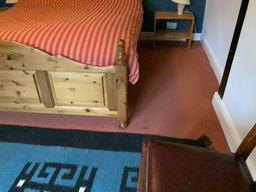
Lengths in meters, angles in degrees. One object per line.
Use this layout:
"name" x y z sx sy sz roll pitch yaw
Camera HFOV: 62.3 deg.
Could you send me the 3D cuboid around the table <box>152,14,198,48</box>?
"table" 0.650 -0.950 3.060 0.570 0.380 0.360 3 32 6
